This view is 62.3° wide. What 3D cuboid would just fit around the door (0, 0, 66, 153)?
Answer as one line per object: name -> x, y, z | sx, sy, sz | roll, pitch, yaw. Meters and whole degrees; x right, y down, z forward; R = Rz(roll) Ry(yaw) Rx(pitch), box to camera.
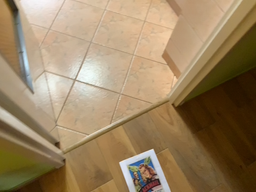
door -> -0.410, -0.410, 0.370 | 0.110, 1.810, 0.800 | -15, 71, -11
